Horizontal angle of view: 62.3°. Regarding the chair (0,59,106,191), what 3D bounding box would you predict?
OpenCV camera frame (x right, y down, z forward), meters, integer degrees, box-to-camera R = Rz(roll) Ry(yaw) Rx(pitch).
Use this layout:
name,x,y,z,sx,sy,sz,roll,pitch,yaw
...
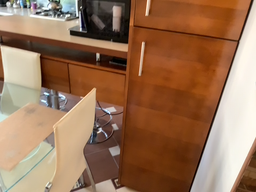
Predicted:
name,x,y,z,sx,sy,sz,roll,pitch,yaw
chair,-0.480,0.350,1.250,0.560,0.970,0.370,14,31,14
